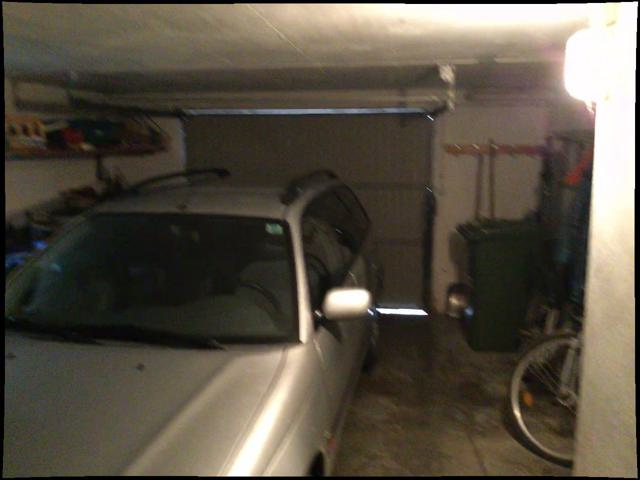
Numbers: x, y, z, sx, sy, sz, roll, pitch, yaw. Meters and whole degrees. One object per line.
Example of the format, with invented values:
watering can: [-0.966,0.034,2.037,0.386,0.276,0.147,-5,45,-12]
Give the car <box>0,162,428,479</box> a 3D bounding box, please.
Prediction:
car: [-0.589,0.480,2.950,1.978,1.632,3.680,3,9,13]

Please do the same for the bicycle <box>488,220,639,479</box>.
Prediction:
bicycle: [1.419,0.561,3.410,0.579,1.131,1.740,2,9,9]
